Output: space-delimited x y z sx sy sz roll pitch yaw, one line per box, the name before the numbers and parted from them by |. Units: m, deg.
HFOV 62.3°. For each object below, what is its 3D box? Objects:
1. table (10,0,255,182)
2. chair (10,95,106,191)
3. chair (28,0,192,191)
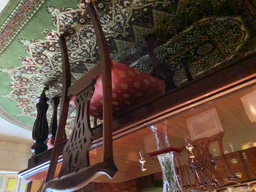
table | 0.190 0.080 1.650 1.880 0.760 1.150 -27 146 30
chair | -0.710 0.620 2.210 0.640 0.940 0.630 -27 146 31
chair | -0.150 0.030 1.280 0.570 0.960 0.590 18 142 -38
